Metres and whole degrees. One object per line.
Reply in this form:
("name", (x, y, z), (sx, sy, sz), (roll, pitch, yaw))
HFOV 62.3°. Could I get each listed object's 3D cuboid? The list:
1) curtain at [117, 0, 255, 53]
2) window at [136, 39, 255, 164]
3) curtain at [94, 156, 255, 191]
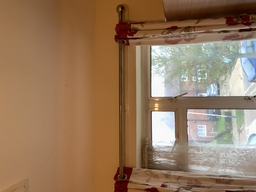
("curtain", (0.670, -0.420, 1.210), (0.200, 1.460, 0.220), (15, -105, -76))
("window", (0.580, 0.030, 1.480), (0.030, 1.050, 0.830), (22, -112, -76))
("curtain", (0.580, 0.530, 1.190), (0.160, 1.580, 0.260), (15, -105, -76))
